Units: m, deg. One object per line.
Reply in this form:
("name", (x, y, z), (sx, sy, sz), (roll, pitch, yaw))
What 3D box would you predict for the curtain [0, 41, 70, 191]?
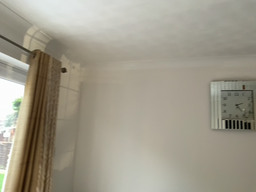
("curtain", (-0.820, 0.770, 1.840), (0.170, 2.400, 0.540), (0, -10, 15))
